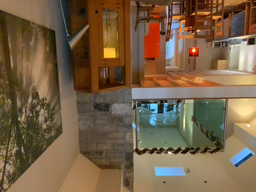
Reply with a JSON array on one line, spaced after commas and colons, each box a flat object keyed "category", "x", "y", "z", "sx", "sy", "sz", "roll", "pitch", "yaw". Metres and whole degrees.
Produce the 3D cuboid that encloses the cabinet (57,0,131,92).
[{"category": "cabinet", "x": -0.500, "y": -1.100, "z": 3.260, "sx": 0.700, "sy": 1.910, "sz": 0.810, "roll": 8, "pitch": -165, "yaw": 40}]
